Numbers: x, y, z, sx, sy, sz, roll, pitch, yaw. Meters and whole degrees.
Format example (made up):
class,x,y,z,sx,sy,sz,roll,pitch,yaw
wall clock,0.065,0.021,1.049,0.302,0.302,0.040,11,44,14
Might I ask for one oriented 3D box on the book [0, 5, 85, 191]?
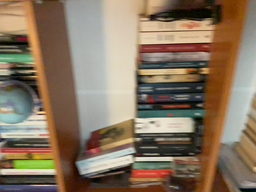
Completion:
class,x,y,z,sx,sy,sz,roll,pitch,yaw
book,-0.330,0.030,0.690,0.230,0.280,0.590,-92,1,-66
